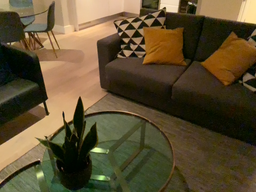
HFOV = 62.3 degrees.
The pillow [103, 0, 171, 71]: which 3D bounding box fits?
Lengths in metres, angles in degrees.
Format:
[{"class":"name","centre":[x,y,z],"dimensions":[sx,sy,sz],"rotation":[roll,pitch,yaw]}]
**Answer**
[{"class":"pillow","centre":[0.110,-0.720,2.550],"dimensions":[0.570,0.550,0.230],"rotation":[38,24,-12]}]

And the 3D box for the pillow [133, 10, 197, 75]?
[{"class":"pillow","centre":[0.410,-0.580,2.370],"dimensions":[0.510,0.480,0.150],"rotation":[40,28,-25]}]

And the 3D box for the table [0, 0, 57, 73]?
[{"class":"table","centre":[-1.930,-1.030,3.450],"dimensions":[0.950,0.770,0.980],"rotation":[22,37,27]}]

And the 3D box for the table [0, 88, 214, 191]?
[{"class":"table","centre":[-0.170,0.530,1.480],"dimensions":[1.160,0.390,1.150],"rotation":[20,37,25]}]

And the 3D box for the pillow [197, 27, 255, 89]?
[{"class":"pillow","centre":[0.980,-0.390,2.100],"dimensions":[0.130,0.410,0.510],"rotation":[36,30,-34]}]
